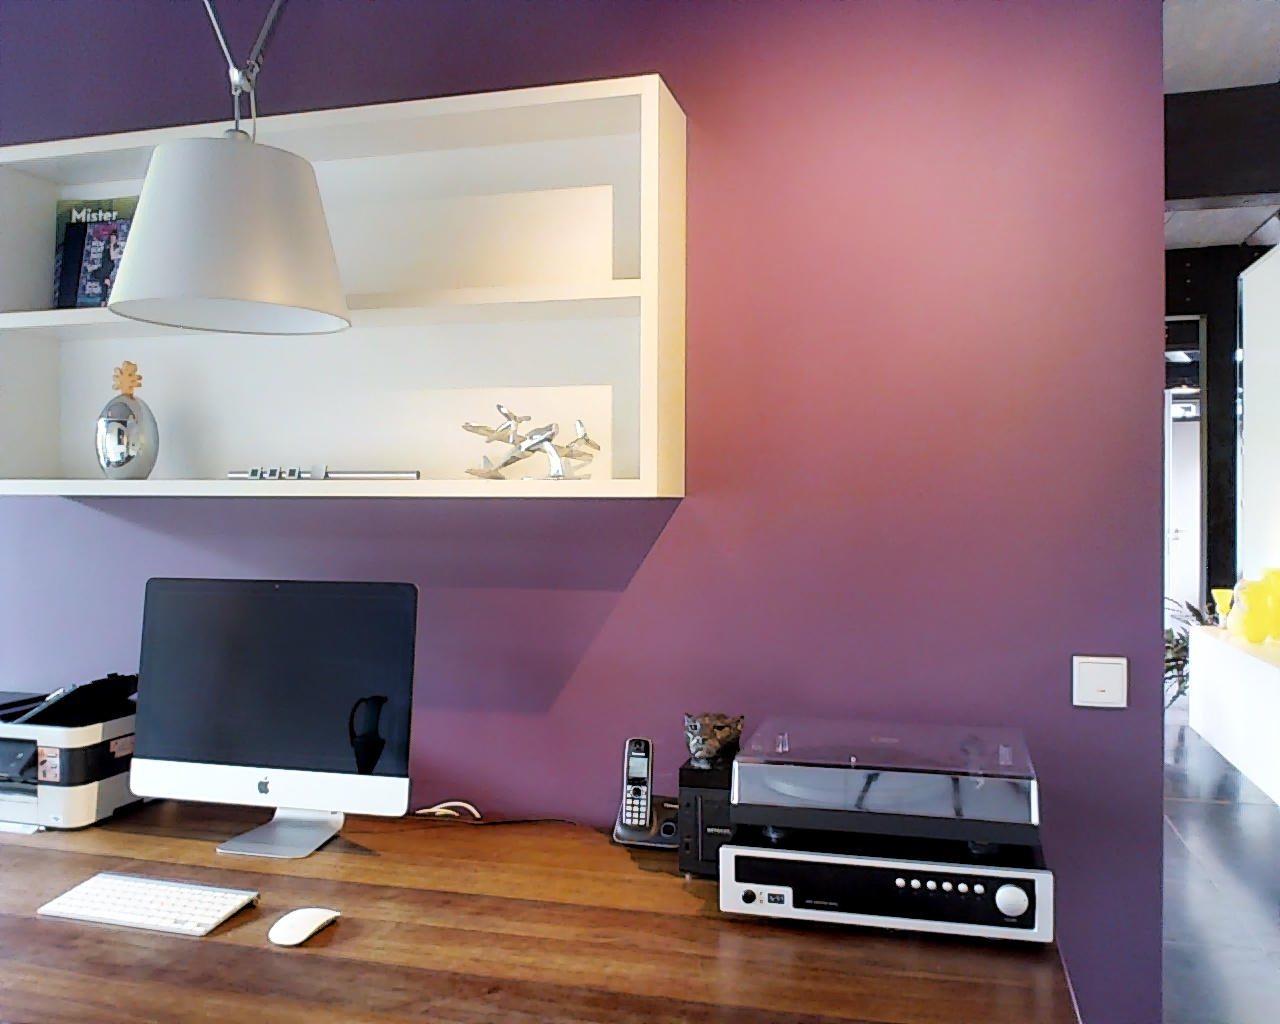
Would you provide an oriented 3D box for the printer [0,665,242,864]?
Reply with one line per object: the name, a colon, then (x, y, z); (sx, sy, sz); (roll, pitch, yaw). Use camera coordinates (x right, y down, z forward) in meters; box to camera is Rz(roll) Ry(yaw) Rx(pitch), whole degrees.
printer: (-1.150, 0.470, 2.110); (0.560, 0.260, 0.410); (0, 0, 16)
